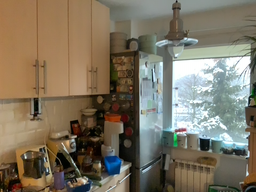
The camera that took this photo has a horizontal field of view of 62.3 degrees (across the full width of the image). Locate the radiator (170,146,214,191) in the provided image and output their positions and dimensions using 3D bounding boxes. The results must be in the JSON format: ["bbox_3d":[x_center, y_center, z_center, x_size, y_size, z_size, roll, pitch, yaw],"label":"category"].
[{"bbox_3d":[0.830,1.050,2.770,0.520,0.700,0.150,2,3,27],"label":"radiator"}]
